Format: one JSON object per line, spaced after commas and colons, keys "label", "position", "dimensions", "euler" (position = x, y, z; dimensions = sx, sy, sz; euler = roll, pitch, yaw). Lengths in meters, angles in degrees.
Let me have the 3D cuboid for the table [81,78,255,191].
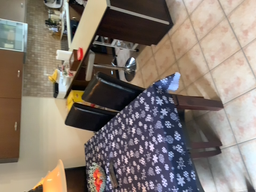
{"label": "table", "position": [0.200, 0.680, 2.090], "dimensions": [1.650, 0.780, 0.950], "euler": [-43, 51, 51]}
